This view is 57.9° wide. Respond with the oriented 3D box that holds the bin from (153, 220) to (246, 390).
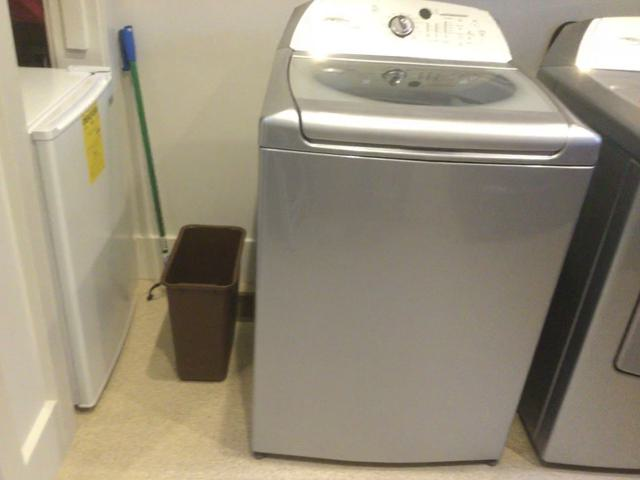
[{"bbox_3d":[-0.350,0.190,1.780,0.220,0.370,0.370,2,28,-4],"label":"bin"}]
